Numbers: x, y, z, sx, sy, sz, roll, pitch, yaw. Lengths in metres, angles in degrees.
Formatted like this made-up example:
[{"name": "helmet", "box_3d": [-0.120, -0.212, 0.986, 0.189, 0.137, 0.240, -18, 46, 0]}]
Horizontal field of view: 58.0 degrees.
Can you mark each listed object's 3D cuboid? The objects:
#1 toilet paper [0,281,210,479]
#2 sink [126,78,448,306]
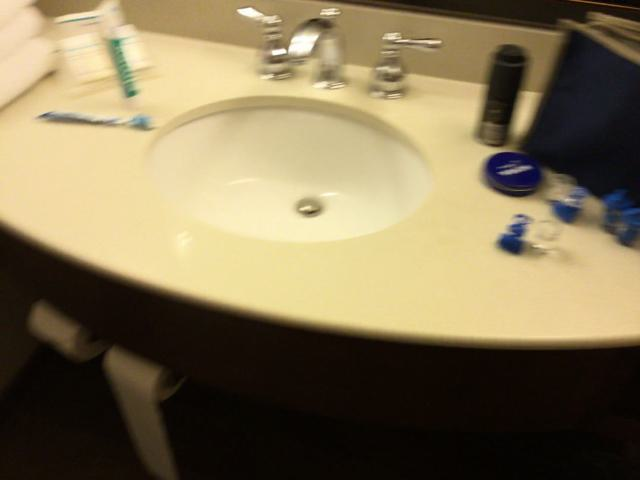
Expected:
[{"name": "toilet paper", "box_3d": [-0.380, 0.310, 1.090, 0.260, 0.450, 0.140, 13, 43, 11]}, {"name": "sink", "box_3d": [-0.040, -0.090, 0.930, 0.430, 0.180, 0.240, 13, 43, 11]}]
